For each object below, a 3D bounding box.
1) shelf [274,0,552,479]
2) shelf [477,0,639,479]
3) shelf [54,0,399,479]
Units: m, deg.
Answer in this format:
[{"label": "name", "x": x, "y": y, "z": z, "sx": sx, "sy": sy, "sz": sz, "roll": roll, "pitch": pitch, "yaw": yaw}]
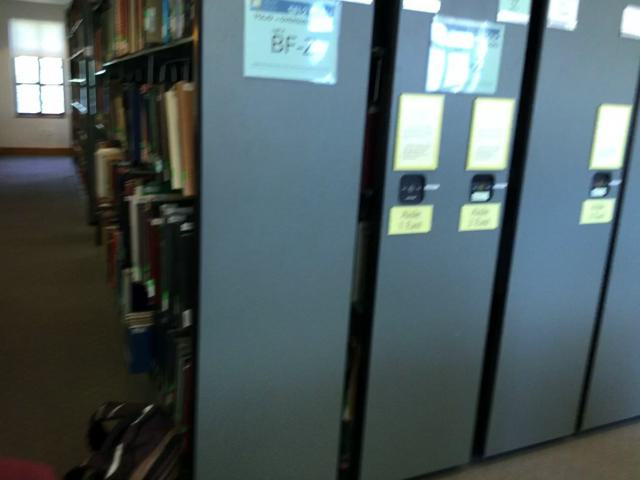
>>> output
[{"label": "shelf", "x": 0.300, "y": -0.030, "z": 2.320, "sx": 0.690, "sy": 1.860, "sz": 0.830, "roll": -5, "pitch": 12, "yaw": -22}, {"label": "shelf", "x": 1.450, "y": -0.090, "z": 2.400, "sx": 1.700, "sy": 1.990, "sz": 0.180, "roll": -5, "pitch": 12, "yaw": -22}, {"label": "shelf", "x": -0.450, "y": -0.070, "z": 2.290, "sx": 0.930, "sy": 1.930, "sz": 1.370, "roll": -5, "pitch": 12, "yaw": -22}]
